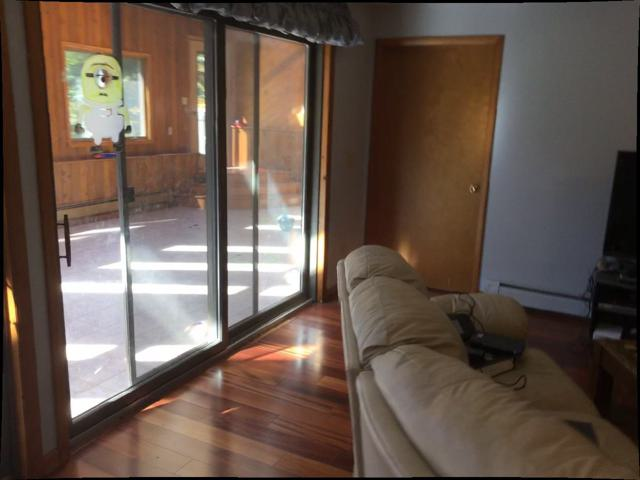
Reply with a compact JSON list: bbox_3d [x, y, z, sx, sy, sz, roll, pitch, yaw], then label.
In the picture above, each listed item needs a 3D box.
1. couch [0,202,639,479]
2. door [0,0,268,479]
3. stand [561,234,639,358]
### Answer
[{"bbox_3d":[1.289,0.711,1.560,3.468,1.011,2.450,7,15,25],"label":"couch"},{"bbox_3d":[-0.899,-0.370,2.830,0.480,2.372,1.610,7,15,26],"label":"door"},{"bbox_3d":[2.378,0.400,3.830,1.319,0.631,0.680,7,15,26],"label":"stand"}]
